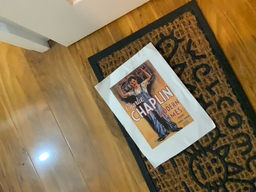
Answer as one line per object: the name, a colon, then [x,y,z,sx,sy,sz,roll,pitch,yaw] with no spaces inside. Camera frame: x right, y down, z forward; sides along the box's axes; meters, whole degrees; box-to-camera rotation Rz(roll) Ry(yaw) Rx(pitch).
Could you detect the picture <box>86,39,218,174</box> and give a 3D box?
picture: [0.060,0.030,0.600,0.230,0.020,0.300,-38,85,8]
